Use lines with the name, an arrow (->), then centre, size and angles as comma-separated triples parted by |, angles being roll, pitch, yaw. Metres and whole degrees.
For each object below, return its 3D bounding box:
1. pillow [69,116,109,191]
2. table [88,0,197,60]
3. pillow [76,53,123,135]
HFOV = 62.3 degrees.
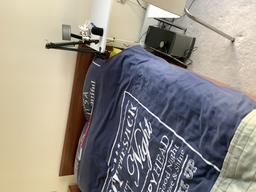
pillow -> -0.390, 0.600, 2.000 | 0.400, 0.140, 0.710 | 43, 124, 53
table -> 0.140, -0.780, 1.770 | 0.390, 0.740, 0.790 | 39, 121, 55
pillow -> -0.270, -0.020, 1.840 | 0.360, 0.180, 0.600 | 42, 123, 54
